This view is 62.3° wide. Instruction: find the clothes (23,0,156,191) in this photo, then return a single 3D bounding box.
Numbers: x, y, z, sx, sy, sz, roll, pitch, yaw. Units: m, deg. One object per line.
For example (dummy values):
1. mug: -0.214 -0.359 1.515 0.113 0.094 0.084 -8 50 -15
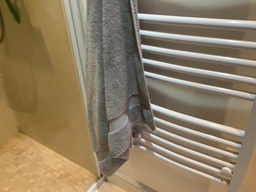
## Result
1. clothes: -0.080 -0.020 0.720 0.250 1.060 0.250 17 37 28
